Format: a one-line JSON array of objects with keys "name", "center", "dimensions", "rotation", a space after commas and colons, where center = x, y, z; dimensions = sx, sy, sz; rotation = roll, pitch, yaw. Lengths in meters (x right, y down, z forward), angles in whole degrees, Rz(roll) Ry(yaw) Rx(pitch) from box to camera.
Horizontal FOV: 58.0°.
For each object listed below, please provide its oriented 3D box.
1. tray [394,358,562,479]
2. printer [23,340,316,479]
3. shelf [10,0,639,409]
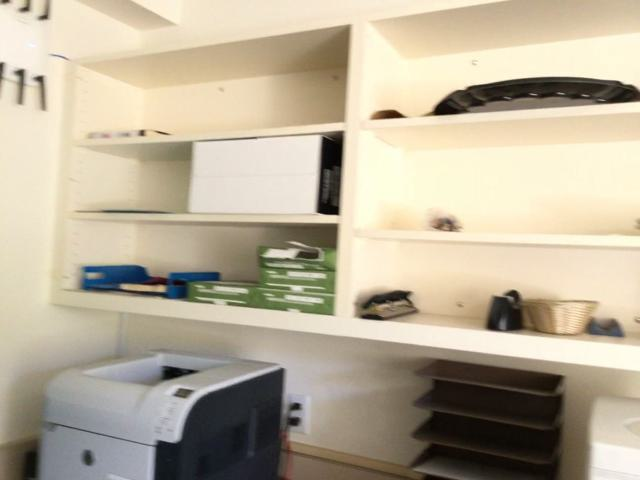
[{"name": "tray", "center": [0.370, 0.540, 1.360], "dimensions": [0.320, 0.450, 0.240], "rotation": [3, -3, 28]}, {"name": "printer", "center": [-0.350, 0.510, 1.460], "dimensions": [0.440, 0.410, 0.550], "rotation": [3, -3, 28]}, {"name": "shelf", "center": [0.110, -0.150, 1.420], "dimensions": [1.960, 0.810, 0.460], "rotation": [3, -3, 28]}]
